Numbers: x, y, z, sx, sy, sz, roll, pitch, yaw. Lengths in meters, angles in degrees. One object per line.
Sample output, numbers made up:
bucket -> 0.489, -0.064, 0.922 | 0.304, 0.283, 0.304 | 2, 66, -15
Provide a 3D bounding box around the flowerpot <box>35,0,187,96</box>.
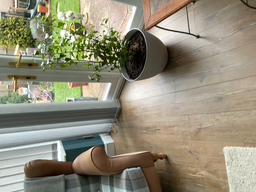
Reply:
flowerpot -> -0.130, -0.340, 1.680 | 0.490, 1.010, 0.430 | 55, 133, 38
